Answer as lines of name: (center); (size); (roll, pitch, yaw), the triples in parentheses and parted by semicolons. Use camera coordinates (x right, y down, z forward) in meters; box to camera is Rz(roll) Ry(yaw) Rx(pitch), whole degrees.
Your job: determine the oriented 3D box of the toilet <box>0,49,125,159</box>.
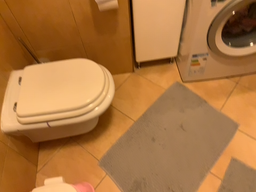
toilet: (-0.310, 0.070, 1.200); (0.510, 0.480, 0.360); (-8, 57, -1)
